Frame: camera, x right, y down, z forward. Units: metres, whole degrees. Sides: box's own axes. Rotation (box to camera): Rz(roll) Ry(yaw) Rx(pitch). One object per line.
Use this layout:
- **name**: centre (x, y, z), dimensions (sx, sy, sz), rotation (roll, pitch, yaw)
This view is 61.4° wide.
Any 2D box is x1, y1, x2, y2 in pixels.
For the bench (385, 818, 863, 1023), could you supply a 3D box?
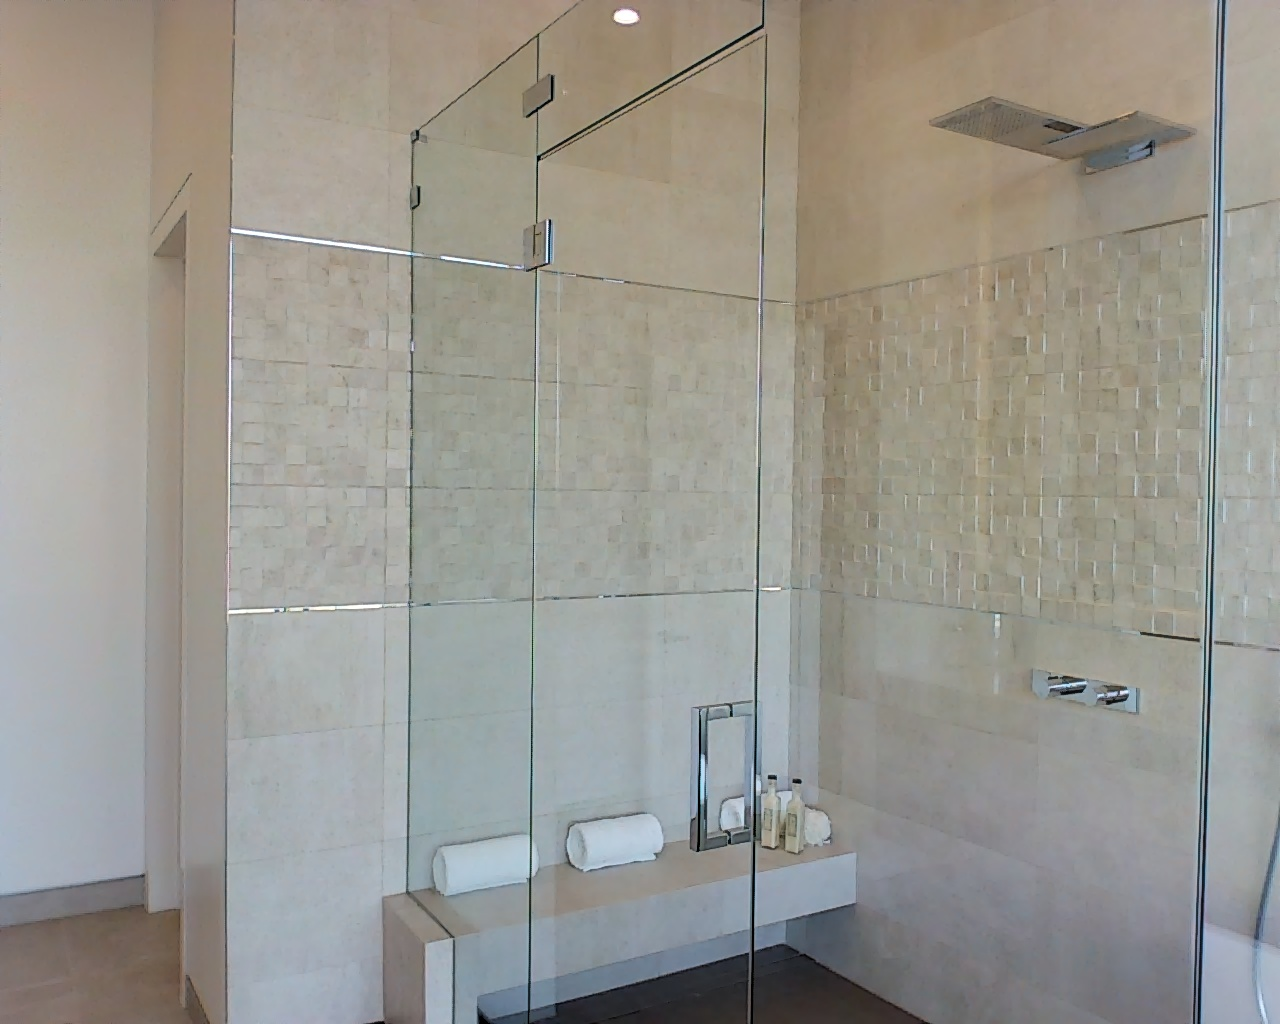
- **bench**: centre (0.000, 1.240, 3.130), dimensions (1.400, 0.410, 0.350), rotation (0, 1, -32)
